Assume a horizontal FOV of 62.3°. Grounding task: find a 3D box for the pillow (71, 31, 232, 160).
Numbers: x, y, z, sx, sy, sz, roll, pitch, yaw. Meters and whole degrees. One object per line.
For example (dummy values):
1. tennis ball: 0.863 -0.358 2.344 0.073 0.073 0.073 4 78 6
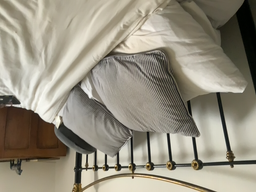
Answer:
1. pillow: 0.090 0.030 0.910 0.480 0.480 0.180 -3 -131 51
